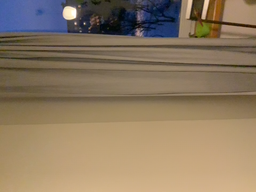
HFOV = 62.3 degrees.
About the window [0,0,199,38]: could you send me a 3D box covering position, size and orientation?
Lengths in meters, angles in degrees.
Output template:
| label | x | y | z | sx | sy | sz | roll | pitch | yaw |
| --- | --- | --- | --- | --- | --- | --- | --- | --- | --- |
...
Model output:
| label | x | y | z | sx | sy | sz | roll | pitch | yaw |
| --- | --- | --- | --- | --- | --- | --- | --- | --- | --- |
| window | -0.320 | -0.860 | 1.420 | 0.110 | 1.660 | 0.890 | -111 | 21 | -71 |
